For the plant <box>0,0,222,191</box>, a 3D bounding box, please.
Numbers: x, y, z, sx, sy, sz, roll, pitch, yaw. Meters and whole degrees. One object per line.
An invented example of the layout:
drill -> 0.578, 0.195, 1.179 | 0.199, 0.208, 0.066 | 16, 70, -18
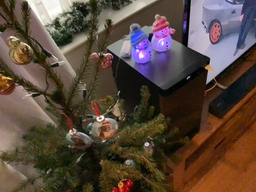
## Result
plant -> -0.070, 0.240, 0.820 | 0.460, 1.180, 0.450 | -34, 49, -19
